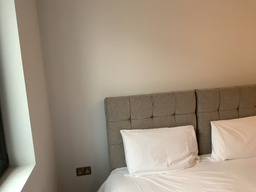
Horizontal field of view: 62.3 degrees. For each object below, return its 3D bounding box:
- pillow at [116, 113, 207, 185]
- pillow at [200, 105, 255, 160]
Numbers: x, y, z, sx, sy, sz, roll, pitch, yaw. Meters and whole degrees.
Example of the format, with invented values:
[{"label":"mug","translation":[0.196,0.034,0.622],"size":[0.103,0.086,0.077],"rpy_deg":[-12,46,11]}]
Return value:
[{"label":"pillow","translation":[0.320,0.510,2.040],"size":[0.740,0.460,0.200],"rpy_deg":[19,2,-13]},{"label":"pillow","translation":[1.180,0.400,2.200],"size":[0.750,0.420,0.190],"rpy_deg":[15,3,-16]}]
